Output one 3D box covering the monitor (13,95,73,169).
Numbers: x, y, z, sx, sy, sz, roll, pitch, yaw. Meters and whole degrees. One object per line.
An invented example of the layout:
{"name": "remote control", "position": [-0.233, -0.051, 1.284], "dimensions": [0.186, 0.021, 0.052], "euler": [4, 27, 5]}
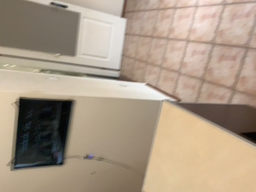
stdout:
{"name": "monitor", "position": [-0.690, 0.300, 1.730], "dimensions": [0.020, 0.410, 0.610], "euler": [32, 115, 57]}
